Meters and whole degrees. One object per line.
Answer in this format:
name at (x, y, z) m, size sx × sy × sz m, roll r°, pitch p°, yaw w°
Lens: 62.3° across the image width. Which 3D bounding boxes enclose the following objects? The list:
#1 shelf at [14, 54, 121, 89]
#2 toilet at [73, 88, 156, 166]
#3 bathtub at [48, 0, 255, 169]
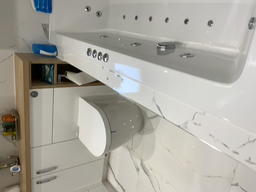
shelf at (-0.500, -0.230, 1.840) m, size 0.310 × 0.820 × 0.200 m, roll 28°, pitch 118°, yaw 49°
toilet at (-0.140, 0.210, 1.750) m, size 0.540 × 0.430 × 0.370 m, roll 30°, pitch 119°, yaw 48°
bathtub at (0.110, -0.520, 1.200) m, size 1.820 × 0.570 × 0.890 m, roll 28°, pitch 117°, yaw 49°
